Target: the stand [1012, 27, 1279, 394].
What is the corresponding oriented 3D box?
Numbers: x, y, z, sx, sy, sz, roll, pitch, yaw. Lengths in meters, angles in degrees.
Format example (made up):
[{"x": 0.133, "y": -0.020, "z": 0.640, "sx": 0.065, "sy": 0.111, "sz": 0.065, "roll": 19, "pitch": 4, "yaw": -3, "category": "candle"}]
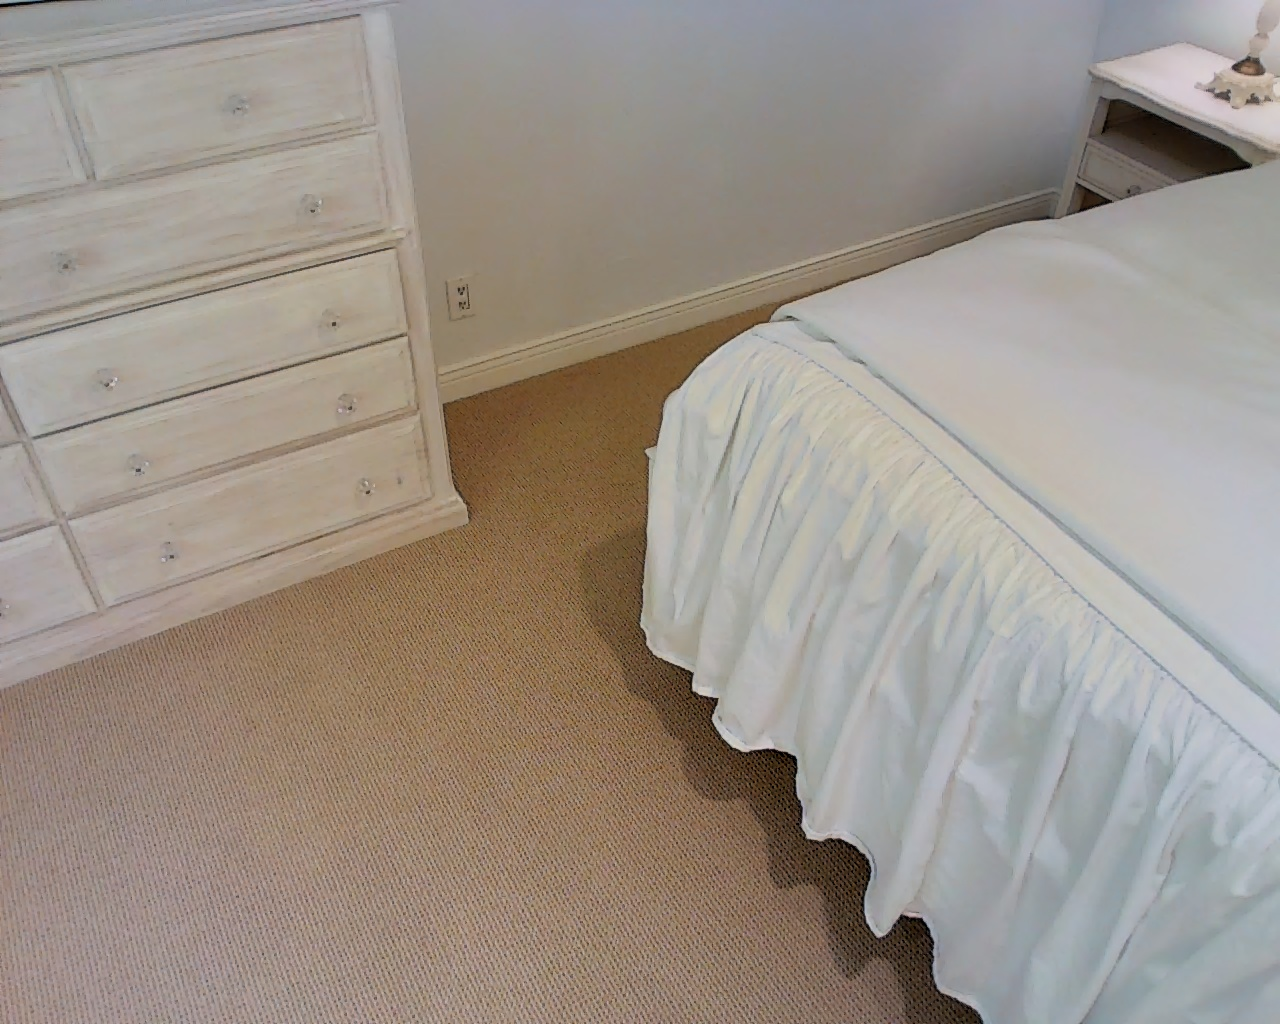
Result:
[{"x": 1.500, "y": -0.830, "z": 2.910, "sx": 0.470, "sy": 0.670, "sz": 0.660, "roll": -21, "pitch": 46, "yaw": -22, "category": "stand"}]
